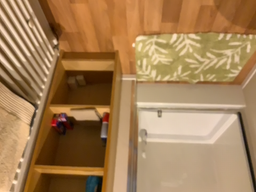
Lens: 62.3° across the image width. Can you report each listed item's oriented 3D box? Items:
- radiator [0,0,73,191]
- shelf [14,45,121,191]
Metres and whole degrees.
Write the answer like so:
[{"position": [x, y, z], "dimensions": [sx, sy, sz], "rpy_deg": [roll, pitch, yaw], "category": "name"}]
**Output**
[{"position": [-0.480, -0.060, 0.890], "dimensions": [0.180, 0.820, 0.760], "rpy_deg": [2, 150, 2], "category": "radiator"}, {"position": [-0.300, 0.190, 1.320], "dimensions": [0.430, 1.060, 0.310], "rpy_deg": [1, 150, 3], "category": "shelf"}]
